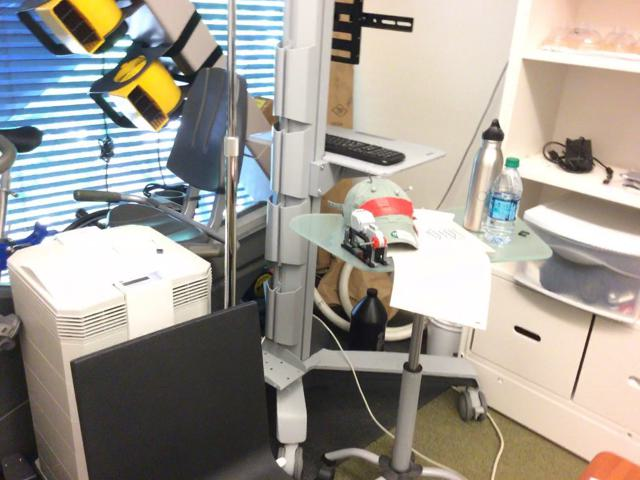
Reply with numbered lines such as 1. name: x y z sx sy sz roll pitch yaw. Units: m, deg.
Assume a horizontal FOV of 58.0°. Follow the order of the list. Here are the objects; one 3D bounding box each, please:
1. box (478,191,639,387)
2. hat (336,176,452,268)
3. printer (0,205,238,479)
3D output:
1. box: 0.860 0.120 1.880 0.390 0.420 0.500 -16 25 -41
2. hat: 0.160 -0.050 1.330 0.170 0.140 0.230 -6 20 -20
3. printer: -0.550 0.370 1.550 0.410 0.800 0.520 -12 22 -42
